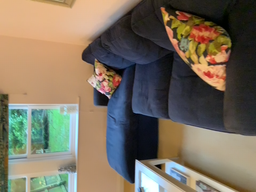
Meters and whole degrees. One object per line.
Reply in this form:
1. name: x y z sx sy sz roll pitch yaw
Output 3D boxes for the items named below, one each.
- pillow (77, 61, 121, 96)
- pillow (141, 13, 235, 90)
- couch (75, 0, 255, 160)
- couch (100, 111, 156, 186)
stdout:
1. pillow: -0.360 -0.210 2.780 0.440 0.460 0.180 -39 84 8
2. pillow: 0.360 -0.220 1.180 0.420 0.470 0.140 42 108 21
3. couch: 0.160 -0.270 2.060 2.560 0.770 0.980 -179 90 -64
4. couch: -0.030 0.610 2.770 0.750 0.430 0.780 -179 90 -64
